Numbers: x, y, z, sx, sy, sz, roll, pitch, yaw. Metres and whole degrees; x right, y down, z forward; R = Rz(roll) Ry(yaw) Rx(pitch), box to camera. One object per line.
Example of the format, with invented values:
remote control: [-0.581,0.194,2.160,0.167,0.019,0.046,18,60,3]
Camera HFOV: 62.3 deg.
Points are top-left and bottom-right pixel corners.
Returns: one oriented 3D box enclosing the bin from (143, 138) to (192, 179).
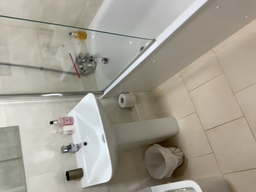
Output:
bin: [0.330,0.530,1.800,0.250,0.250,0.250,-36,64,48]

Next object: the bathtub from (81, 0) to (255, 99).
bathtub: [0.300,-0.640,1.510,1.640,0.550,0.690,-38,63,47]

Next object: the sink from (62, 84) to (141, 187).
sink: [-0.210,0.270,1.450,0.420,0.250,0.570,-37,63,47]
